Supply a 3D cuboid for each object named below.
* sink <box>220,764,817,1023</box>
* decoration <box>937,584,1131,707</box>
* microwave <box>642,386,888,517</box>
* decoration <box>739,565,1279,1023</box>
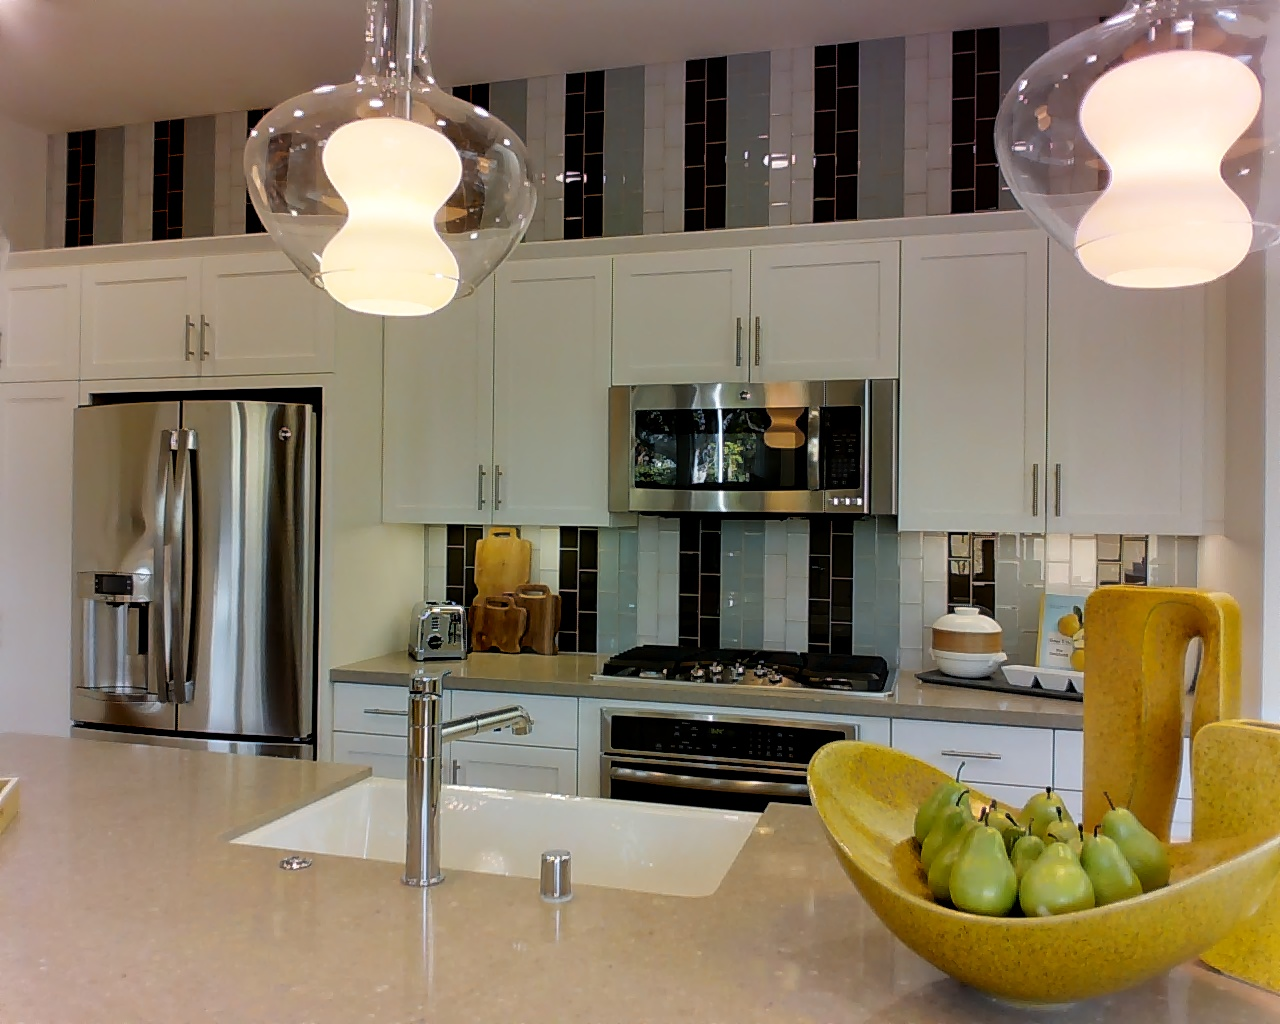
[{"bbox_3d":[-0.170,0.660,1.830,0.870,0.280,0.540,0,-1,17],"label":"sink"},{"bbox_3d":[1.199,0.390,3.270,0.520,0.300,0.460,0,-1,22],"label":"decoration"},{"bbox_3d":[0.400,-0.180,3.410,0.740,0.390,0.260,0,-1,17],"label":"microwave"},{"bbox_3d":[0.580,0.310,1.230,0.740,0.460,0.560,0,-1,39],"label":"decoration"}]
